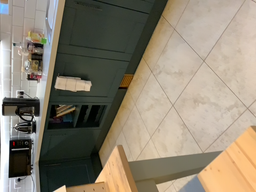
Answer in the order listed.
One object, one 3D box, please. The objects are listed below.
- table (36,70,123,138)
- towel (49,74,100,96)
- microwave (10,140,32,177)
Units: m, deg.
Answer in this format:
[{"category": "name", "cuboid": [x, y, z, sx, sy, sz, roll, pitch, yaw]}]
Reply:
[{"category": "table", "cuboid": [-0.660, 0.100, 2.760, 0.540, 0.920, 0.610, -64, 37, 38]}, {"category": "towel", "cuboid": [-0.520, -0.100, 2.060, 0.180, 0.450, 0.080, -64, 37, 38]}, {"category": "microwave", "cuboid": [-1.560, 0.890, 3.090, 0.410, 0.260, 0.420, -11, 79, 61]}]
